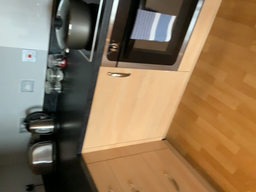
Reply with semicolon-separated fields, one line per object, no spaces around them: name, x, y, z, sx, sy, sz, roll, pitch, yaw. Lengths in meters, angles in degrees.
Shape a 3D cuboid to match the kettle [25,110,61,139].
kettle;-0.700;0.230;1.750;0.160;0.240;0.160;42;125;48
